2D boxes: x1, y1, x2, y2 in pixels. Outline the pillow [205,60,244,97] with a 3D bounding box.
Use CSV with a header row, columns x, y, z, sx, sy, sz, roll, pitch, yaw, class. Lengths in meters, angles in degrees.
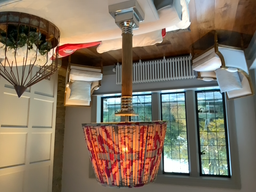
x,y,z,sx,sy,sz,roll,pitch,yaw,class
1.520,-0.270,3.400,0.190,0.360,0.470,-24,161,-21,pillow
